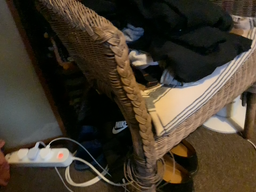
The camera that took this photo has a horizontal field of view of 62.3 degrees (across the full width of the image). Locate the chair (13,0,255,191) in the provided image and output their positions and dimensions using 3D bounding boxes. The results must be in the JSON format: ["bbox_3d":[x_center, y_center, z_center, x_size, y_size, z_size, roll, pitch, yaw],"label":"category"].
[{"bbox_3d":[0.070,-0.130,0.720,0.570,0.780,0.570,-30,42,-28],"label":"chair"}]
